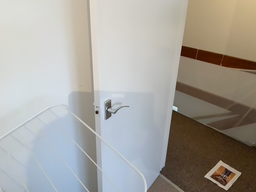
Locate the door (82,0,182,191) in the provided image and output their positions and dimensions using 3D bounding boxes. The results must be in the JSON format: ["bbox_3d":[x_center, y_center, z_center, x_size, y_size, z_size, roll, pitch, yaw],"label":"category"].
[{"bbox_3d":[0.080,-0.100,1.210,0.070,1.900,0.820,17,30,28],"label":"door"}]
